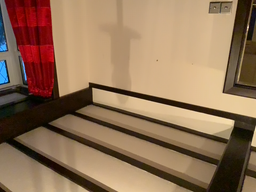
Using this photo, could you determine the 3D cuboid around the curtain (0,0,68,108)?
[{"bbox_3d":[-1.030,-0.750,2.260,0.440,1.680,0.370,12,-157,30],"label":"curtain"}]
